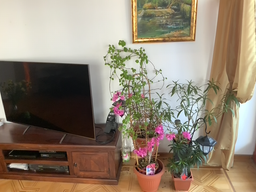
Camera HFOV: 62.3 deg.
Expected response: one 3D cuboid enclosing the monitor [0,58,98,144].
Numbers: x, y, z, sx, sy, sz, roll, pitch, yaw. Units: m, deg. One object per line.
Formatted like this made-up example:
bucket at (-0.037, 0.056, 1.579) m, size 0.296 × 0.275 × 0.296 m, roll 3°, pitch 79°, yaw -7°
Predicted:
monitor at (-0.910, 0.010, 2.180) m, size 1.320 × 0.750 × 0.070 m, roll 7°, pitch 22°, yaw 25°
